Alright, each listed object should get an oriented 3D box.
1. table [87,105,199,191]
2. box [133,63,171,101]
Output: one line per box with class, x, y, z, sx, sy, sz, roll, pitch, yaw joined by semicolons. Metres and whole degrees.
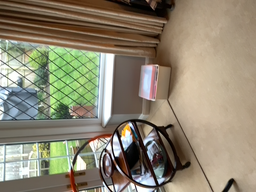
table;0.100;0.590;2.220;0.550;0.770;0.830;-61;39;40
box;0.270;-0.170;2.470;0.370;0.230;0.400;17;104;60
